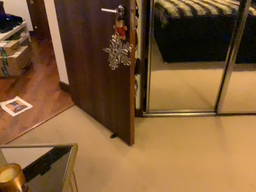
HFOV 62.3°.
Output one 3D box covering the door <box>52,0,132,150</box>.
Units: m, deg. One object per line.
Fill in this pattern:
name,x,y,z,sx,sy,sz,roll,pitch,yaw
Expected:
door,-0.300,-0.600,1.440,0.050,1.930,0.940,-24,39,-33
